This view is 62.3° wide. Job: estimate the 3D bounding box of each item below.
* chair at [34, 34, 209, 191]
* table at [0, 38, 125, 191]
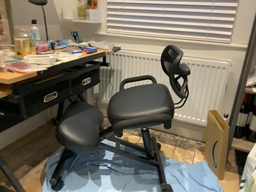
[{"bbox_3d":[-0.060,0.080,1.240,0.650,0.760,0.690,2,20,-5],"label":"chair"},{"bbox_3d":[-0.560,0.060,1.320,0.610,0.680,1.260,11,22,19],"label":"table"}]
